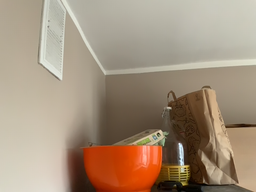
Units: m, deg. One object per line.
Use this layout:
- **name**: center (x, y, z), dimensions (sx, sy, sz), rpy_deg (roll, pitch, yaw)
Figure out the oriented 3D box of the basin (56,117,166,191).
- **basin**: center (-0.040, 0.250, 0.890), dimensions (0.360, 0.250, 0.370), rpy_deg (-3, -16, 6)
